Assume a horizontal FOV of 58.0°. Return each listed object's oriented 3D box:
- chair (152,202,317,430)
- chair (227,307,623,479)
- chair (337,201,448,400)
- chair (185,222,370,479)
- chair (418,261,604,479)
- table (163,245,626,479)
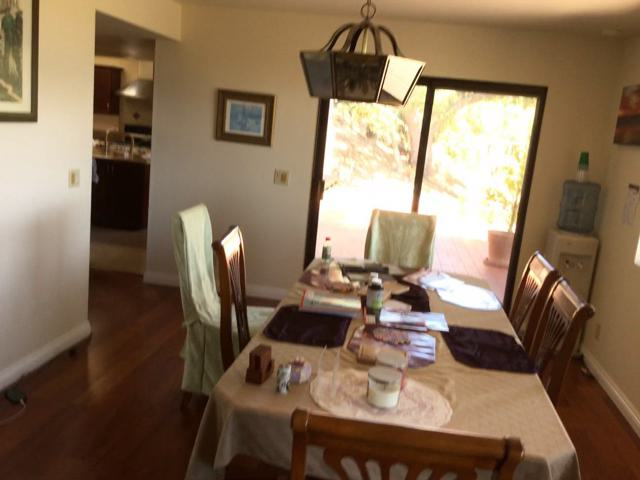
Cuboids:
[{"bbox_3d":[-0.450,0.370,3.190,0.690,1.040,0.600,6,10,8],"label":"chair"},{"bbox_3d":[0.180,0.800,1.430,0.680,1.040,0.670,6,10,8],"label":"chair"},{"bbox_3d":[0.460,0.340,3.670,0.530,1.080,0.630,6,10,8],"label":"chair"},{"bbox_3d":[-0.170,0.510,2.640,0.650,1.050,0.600,6,10,8],"label":"chair"},{"bbox_3d":[0.690,0.670,2.270,0.450,1.040,0.510,9,9,8],"label":"chair"},{"bbox_3d":[0.300,0.680,2.650,1.200,0.850,2.170,6,10,8],"label":"table"}]
